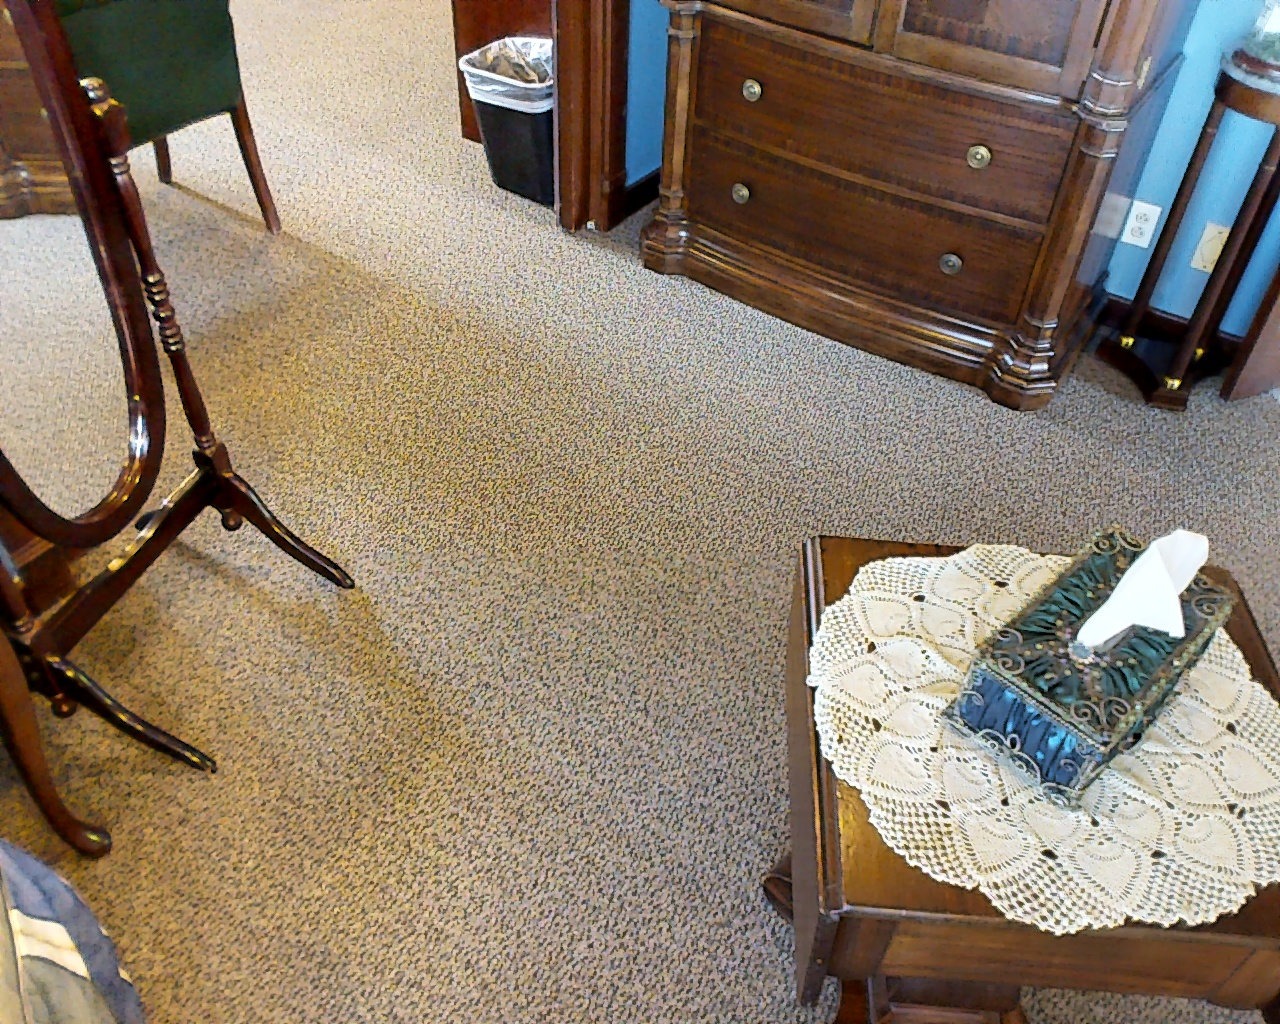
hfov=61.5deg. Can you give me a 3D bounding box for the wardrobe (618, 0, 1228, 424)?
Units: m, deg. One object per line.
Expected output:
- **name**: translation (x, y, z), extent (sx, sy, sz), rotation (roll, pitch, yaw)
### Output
- **wardrobe**: translation (0.650, -1.420, 2.290), extent (1.230, 2.180, 0.590), rotation (26, 48, 23)

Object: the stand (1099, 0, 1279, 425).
- **stand**: translation (1.380, -0.680, 2.490), extent (0.280, 0.860, 0.360), rotation (21, 46, 19)
